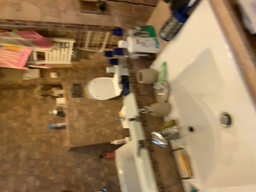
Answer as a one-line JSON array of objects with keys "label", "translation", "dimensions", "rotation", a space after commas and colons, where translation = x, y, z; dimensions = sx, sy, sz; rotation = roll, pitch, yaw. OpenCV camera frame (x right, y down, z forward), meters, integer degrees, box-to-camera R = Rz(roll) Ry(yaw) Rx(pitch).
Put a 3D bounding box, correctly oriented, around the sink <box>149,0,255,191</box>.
[{"label": "sink", "translation": [0.330, 0.090, 0.810], "dimensions": [0.460, 0.140, 0.770], "rotation": [130, 132, -59]}]
